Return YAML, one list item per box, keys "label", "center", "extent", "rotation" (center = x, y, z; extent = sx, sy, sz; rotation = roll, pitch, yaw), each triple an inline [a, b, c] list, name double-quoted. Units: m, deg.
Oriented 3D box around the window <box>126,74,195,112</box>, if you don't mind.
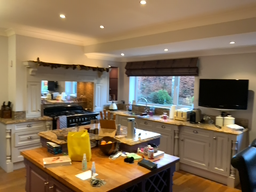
- label: "window"
  center: [0.710, -0.120, 5.250]
  extent: [1.860, 0.800, 0.160]
  rotation: [6, 5, 42]
